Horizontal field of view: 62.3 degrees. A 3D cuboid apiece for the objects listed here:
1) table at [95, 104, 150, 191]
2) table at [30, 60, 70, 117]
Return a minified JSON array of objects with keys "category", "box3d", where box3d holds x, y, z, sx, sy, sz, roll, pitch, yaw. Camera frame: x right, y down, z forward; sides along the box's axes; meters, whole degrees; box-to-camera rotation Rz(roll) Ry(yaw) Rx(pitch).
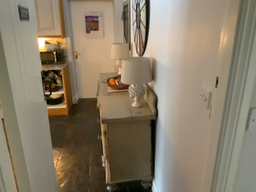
[{"category":"table","box3d":[-0.070,0.560,2.160,0.470,0.860,0.390,-3,21,-7]},{"category":"table","box3d":[-1.430,-0.160,4.010,0.490,0.900,0.660,-3,20,-8]}]
